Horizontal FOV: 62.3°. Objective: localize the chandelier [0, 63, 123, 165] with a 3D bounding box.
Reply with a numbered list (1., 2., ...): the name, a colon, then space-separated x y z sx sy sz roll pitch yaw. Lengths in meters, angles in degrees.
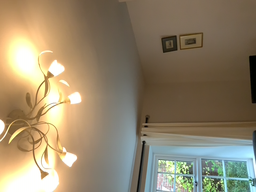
1. chandelier: -0.390 0.040 0.900 0.510 0.740 0.230 -5 -88 17
